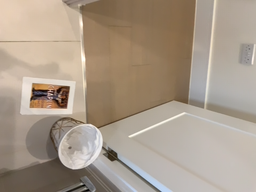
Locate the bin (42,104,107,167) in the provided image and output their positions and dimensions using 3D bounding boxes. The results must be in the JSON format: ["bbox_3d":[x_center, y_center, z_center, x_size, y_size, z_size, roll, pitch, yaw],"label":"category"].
[{"bbox_3d":[-0.310,0.210,1.230,0.250,0.260,0.190,-24,115,-30],"label":"bin"}]
